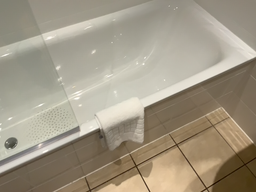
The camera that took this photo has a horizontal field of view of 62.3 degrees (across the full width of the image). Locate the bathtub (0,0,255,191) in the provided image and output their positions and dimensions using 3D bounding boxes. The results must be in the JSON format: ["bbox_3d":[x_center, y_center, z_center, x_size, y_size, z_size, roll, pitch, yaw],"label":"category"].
[{"bbox_3d":[-0.220,0.000,1.280,1.660,0.540,0.680,-24,59,-15],"label":"bathtub"}]
